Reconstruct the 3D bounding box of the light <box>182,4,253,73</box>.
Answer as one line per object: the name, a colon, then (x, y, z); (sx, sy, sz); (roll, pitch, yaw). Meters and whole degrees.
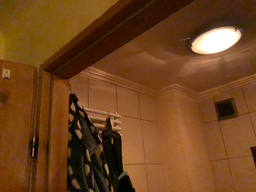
light: (0.480, -0.310, 1.180); (0.340, 0.290, 0.090); (42, -90, 27)
